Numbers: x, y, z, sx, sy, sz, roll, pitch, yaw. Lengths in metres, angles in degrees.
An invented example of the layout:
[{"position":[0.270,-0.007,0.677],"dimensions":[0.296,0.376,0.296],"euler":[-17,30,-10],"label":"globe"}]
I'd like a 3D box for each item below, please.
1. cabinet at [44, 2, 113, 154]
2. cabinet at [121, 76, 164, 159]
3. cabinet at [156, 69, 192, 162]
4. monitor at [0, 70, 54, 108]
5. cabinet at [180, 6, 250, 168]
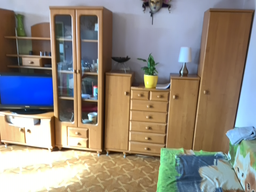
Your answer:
[{"position":[-0.650,-0.230,2.950],"dimensions":[0.730,1.910,0.490],"euler":[6,15,10],"label":"cabinet"},{"position":[0.210,0.280,2.950],"dimensions":[0.480,1.010,0.440],"euler":[6,15,10],"label":"cabinet"},{"position":[0.610,0.250,2.880],"dimensions":[0.330,1.150,0.420],"euler":[6,15,10],"label":"cabinet"},{"position":[-1.410,-0.090,2.920],"dimensions":[0.720,0.500,0.060],"euler":[2,15,-4],"label":"monitor"},{"position":[1.030,-0.080,2.710],"dimensions":[0.490,1.920,0.430],"euler":[6,15,10],"label":"cabinet"}]
